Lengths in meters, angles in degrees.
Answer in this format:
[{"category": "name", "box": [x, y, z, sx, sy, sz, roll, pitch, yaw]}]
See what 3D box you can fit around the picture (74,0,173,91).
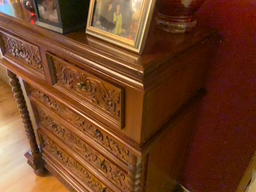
[{"category": "picture", "box": [-0.020, -0.190, 0.580, 0.230, 0.260, 0.120, 26, 41, 30]}]
